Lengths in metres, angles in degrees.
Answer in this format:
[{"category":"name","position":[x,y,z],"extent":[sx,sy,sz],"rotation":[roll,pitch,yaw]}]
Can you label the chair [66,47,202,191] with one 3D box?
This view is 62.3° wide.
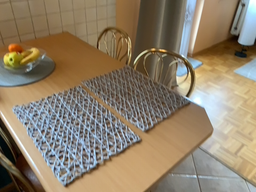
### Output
[{"category":"chair","position":[0.010,0.230,1.230],"extent":[0.460,0.820,0.440],"rotation":[-26,45,-35]}]
